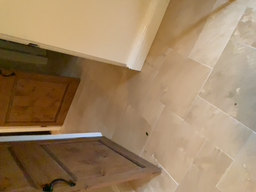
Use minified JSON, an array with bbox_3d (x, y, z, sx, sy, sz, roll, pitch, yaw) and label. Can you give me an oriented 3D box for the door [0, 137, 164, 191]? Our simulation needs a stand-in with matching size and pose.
[{"bbox_3d":[-0.620,0.420,1.290,0.760,1.740,0.030,14,95,48],"label":"door"}]
